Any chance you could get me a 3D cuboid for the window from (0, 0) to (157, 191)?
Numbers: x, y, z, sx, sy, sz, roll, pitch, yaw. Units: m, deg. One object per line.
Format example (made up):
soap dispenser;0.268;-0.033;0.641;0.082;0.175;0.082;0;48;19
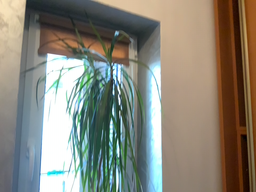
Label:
window;-0.160;0.240;0.860;0.610;1.180;0.120;5;-8;-32
